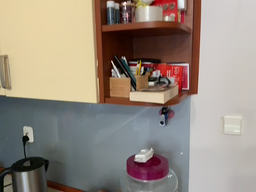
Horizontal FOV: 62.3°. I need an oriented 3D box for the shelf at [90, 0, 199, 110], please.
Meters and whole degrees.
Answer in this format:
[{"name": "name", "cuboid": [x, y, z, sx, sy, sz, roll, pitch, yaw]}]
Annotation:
[{"name": "shelf", "cuboid": [0.080, -0.350, 0.730, 0.290, 0.720, 0.320, 3, 10, 23]}]
